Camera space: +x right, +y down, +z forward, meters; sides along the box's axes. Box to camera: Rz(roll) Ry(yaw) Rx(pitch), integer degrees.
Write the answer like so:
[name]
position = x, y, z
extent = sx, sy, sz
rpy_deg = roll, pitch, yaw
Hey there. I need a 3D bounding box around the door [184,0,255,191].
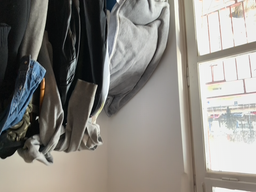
[door]
position = 0.820, -0.290, 1.230
extent = 0.910, 2.340, 0.200
rpy_deg = -9, 167, 39
